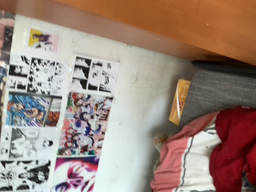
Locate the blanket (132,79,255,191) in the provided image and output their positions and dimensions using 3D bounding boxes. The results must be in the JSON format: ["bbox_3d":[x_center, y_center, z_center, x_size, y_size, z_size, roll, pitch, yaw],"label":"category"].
[{"bbox_3d":[0.430,0.530,0.940,1.040,0.250,1.010,29,108,58],"label":"blanket"}]
